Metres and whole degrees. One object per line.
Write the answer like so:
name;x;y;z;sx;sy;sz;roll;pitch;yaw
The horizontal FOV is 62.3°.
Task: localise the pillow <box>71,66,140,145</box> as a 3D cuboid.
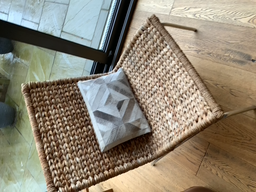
pillow;-0.100;0.030;1.160;0.080;0.300;0.410;-36;93;11
